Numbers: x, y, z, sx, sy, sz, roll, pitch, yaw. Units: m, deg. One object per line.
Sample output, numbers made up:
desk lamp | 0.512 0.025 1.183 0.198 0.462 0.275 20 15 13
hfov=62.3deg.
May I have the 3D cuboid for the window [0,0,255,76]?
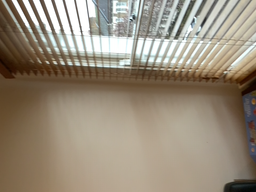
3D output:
window | 0.060 -0.330 1.010 0.860 1.460 0.060 102 169 -71
